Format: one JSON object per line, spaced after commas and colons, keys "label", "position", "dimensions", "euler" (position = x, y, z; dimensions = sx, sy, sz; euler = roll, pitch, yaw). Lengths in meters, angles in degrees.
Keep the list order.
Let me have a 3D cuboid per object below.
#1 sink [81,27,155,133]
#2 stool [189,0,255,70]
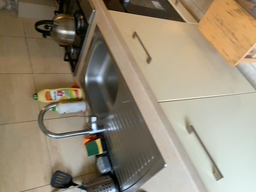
{"label": "sink", "position": [-0.090, -0.080, 1.160], "dimensions": [0.380, 0.150, 0.410], "euler": [-57, 48, 44]}
{"label": "stool", "position": [0.610, -0.360, 1.190], "dimensions": [0.360, 0.300, 0.240], "euler": [63, 142, 31]}
